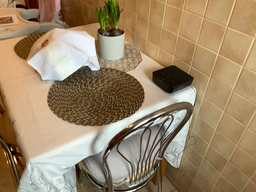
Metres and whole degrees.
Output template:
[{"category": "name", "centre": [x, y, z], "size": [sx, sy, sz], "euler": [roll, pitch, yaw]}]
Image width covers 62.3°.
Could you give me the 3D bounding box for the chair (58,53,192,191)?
[{"category": "chair", "centre": [-0.040, 0.270, 1.030], "size": [0.360, 0.810, 0.350], "euler": [-20, 44, -26]}]

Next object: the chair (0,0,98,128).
[{"category": "chair", "centre": [-0.710, -0.410, 1.680], "size": [0.690, 0.990, 0.600], "euler": [-21, 45, -27]}]
